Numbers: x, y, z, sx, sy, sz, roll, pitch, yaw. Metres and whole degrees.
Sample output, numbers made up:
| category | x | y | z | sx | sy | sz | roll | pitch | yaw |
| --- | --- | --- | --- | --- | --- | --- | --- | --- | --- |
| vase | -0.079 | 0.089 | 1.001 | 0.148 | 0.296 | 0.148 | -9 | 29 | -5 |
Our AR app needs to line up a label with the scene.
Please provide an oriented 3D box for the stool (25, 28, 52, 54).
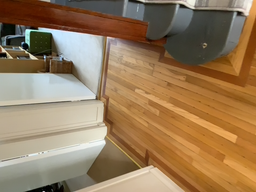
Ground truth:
| category | x | y | z | sx | sy | sz | roll | pitch | yaw |
| --- | --- | --- | --- | --- | --- | --- | --- | --- | --- |
| stool | -1.660 | -1.020 | 3.910 | 0.630 | 0.310 | 0.360 | 28 | 115 | 48 |
